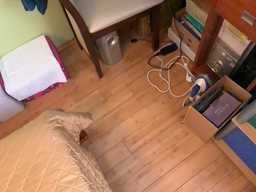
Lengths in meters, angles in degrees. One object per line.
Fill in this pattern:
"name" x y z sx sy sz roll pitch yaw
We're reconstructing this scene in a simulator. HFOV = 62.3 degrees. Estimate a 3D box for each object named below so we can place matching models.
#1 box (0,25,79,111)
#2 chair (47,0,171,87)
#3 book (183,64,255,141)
"box" -0.610 -0.180 1.390 0.400 0.230 0.360 -29 67 -5
"chair" -0.140 -0.570 1.070 0.540 1.010 0.470 -29 67 -5
"book" 0.500 0.050 1.110 0.330 0.290 0.180 -27 67 -5
